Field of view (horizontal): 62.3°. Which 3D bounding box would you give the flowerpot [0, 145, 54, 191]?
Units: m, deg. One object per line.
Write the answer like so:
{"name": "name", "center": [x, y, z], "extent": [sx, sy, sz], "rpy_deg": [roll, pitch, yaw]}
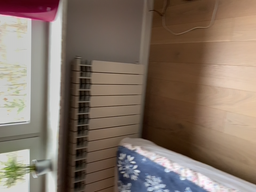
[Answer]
{"name": "flowerpot", "center": [-0.640, 0.450, 1.340], "extent": [0.090, 0.300, 0.200], "rpy_deg": [19, 106, 50]}
